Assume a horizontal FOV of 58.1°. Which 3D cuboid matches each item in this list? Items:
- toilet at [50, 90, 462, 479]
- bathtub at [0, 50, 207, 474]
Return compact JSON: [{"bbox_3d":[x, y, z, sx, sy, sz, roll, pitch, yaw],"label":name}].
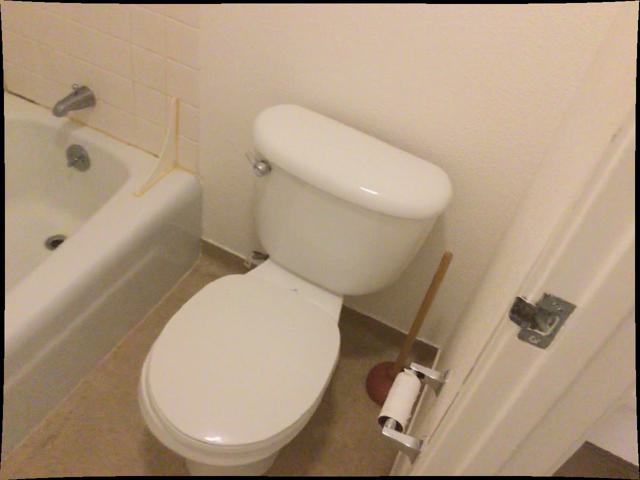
[{"bbox_3d":[-0.110,0.200,1.330,0.470,0.731,0.710,25,45,13],"label":"toilet"},{"bbox_3d":[-0.958,0.120,1.380,0.739,0.490,1.290,25,45,13],"label":"bathtub"}]
